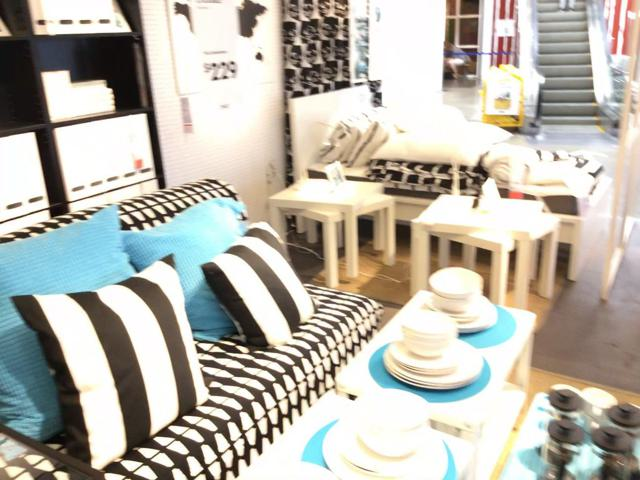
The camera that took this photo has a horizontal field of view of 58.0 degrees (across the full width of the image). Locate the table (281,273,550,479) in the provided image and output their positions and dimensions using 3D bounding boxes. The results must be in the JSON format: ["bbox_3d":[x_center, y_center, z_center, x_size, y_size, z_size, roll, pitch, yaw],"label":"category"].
[{"bbox_3d":[0.370,0.520,1.930,0.570,0.550,0.780,2,19,34],"label":"table"}]

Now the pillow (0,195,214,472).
[{"bbox_3d":[-0.710,0.230,1.700,0.250,0.540,0.660,-11,11,37],"label":"pillow"}]

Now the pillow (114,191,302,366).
[{"bbox_3d":[-0.380,0.120,2.120,0.220,0.440,0.560,-19,6,34],"label":"pillow"}]

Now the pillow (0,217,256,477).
[{"bbox_3d":[-0.500,0.260,1.530,0.240,0.480,0.500,-18,7,37],"label":"pillow"}]

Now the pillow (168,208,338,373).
[{"bbox_3d":[-0.210,0.160,1.960,0.240,0.390,0.420,-19,6,35],"label":"pillow"}]
